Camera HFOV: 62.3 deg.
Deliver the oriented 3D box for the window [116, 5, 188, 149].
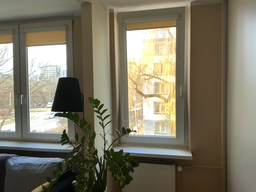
[{"bbox_3d":[0.290,-0.210,2.580,0.840,1.640,0.130,0,3,13],"label":"window"}]
